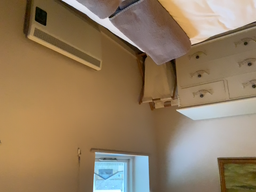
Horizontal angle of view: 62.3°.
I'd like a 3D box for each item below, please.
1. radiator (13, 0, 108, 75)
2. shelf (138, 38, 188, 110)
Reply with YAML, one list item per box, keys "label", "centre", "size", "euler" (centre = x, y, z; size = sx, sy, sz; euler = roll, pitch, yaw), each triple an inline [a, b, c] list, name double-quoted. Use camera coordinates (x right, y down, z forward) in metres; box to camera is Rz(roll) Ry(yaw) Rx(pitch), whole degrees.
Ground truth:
- label: "radiator"
  centre: [-0.470, -0.540, 1.700]
  size: [0.140, 0.520, 0.750]
  euler: [-12, 159, 34]
- label: "shelf"
  centre: [0.410, -0.230, 2.540]
  size: [0.430, 0.690, 0.410]
  euler: [-11, 160, 31]
